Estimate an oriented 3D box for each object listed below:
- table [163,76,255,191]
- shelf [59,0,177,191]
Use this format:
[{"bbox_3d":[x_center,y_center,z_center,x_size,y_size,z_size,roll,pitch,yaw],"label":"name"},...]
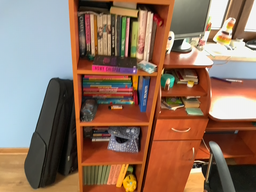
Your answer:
[{"bbox_3d":[0.830,0.300,1.600,0.920,0.740,0.470,1,32,-8],"label":"table"},{"bbox_3d":[-0.100,-0.070,1.230,0.430,1.590,0.480,1,32,-8],"label":"shelf"}]
